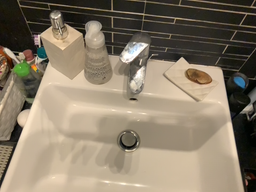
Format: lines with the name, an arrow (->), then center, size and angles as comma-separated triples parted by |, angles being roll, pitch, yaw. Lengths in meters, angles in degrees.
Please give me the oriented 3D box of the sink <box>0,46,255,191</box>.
sink -> 0.000, 0.110, 0.560 | 0.530, 0.160, 0.430 | 6, 59, -1
